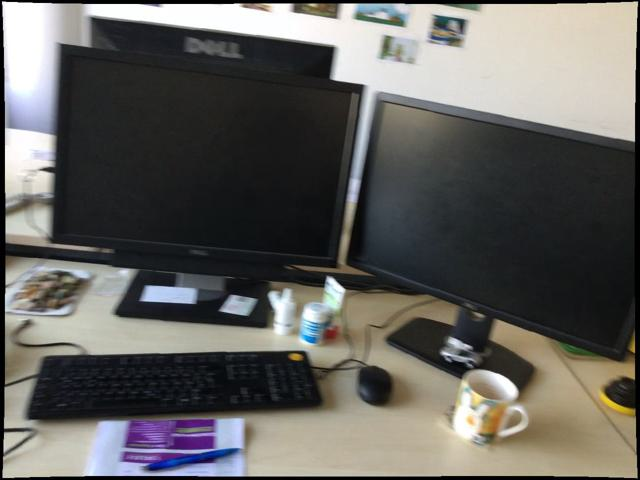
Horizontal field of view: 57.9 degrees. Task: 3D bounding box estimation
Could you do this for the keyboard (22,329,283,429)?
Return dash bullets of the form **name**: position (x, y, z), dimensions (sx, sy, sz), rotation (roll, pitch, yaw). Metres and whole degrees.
- **keyboard**: position (-0.260, 0.230, 0.980), dimensions (0.390, 0.030, 0.200), rotation (5, 23, -6)
